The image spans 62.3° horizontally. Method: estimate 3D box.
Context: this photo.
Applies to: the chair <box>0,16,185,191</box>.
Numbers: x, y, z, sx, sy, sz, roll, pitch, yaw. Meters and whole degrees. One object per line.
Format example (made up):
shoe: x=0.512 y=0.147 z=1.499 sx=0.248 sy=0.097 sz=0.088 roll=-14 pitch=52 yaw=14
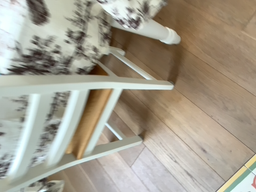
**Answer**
chair: x=-0.260 y=0.020 z=0.830 sx=0.440 sy=0.970 sz=0.410 roll=41 pitch=115 yaw=30
